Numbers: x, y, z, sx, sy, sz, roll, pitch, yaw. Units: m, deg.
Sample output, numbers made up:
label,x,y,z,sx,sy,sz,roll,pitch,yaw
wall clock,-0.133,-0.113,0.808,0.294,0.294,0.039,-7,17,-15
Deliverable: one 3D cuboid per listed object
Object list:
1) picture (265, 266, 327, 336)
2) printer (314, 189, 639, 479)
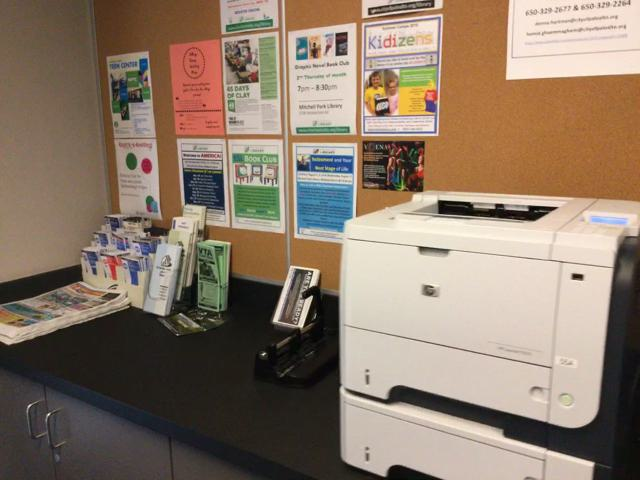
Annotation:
label,x,y,z,sx,sy,sz,roll,pitch,yaw
picture,-0.070,0.170,1.660,0.130,0.160,0.120,7,11,36
printer,0.320,0.160,1.030,0.470,0.460,0.460,7,11,36
